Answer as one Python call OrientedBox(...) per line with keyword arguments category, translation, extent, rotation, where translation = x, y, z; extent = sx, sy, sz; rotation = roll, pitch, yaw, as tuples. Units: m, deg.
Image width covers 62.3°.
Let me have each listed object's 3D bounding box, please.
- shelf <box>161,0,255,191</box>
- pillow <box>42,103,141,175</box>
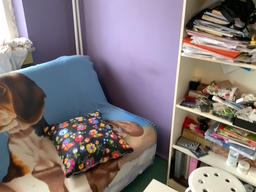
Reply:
OrientedBox(category="shelf", translation=(0.620, -0.040, 1.310), extent=(0.640, 1.820, 0.280), rotation=(20, 31, 36))
OrientedBox(category="pillow", translation=(-0.260, 0.270, 1.550), extent=(0.560, 0.140, 0.430), rotation=(18, 30, 33))
